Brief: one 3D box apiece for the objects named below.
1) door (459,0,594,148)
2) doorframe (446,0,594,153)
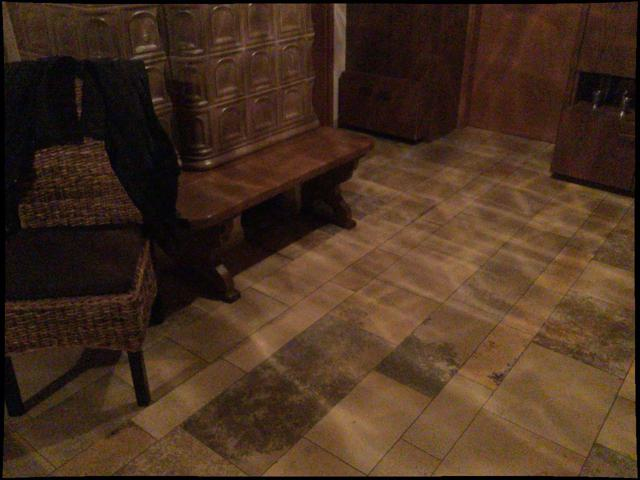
[{"bbox_3d":[1.439,-1.632,3.910,0.750,1.911,0.130,22,35,32],"label":"door"},{"bbox_3d":[1.379,-1.642,3.850,0.800,1.972,0.260,22,35,32],"label":"doorframe"}]
